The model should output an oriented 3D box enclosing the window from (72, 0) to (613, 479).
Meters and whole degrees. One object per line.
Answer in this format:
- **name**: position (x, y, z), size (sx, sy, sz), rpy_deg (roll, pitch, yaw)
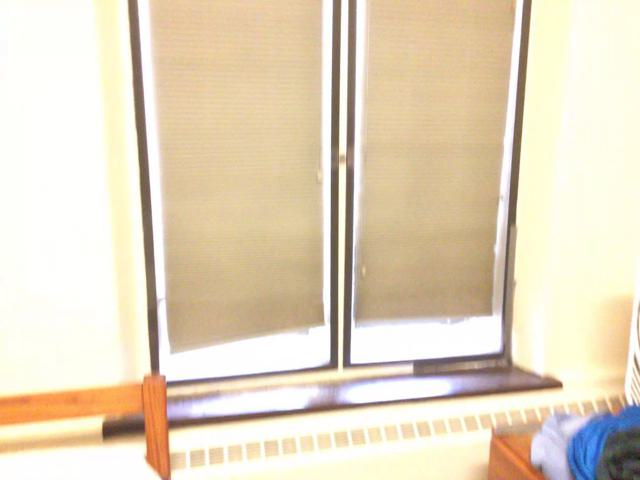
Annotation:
- **window**: position (0.100, -0.190, 1.580), size (1.320, 1.540, 0.240), rpy_deg (-4, 11, -9)
